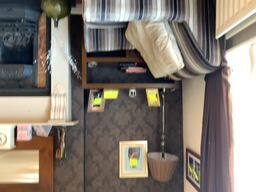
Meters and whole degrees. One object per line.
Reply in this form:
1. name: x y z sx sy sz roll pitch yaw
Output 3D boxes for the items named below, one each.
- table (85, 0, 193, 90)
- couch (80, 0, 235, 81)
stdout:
1. table: 0.100 -0.510 2.110 0.980 0.880 0.350 0 178 -3
2. couch: 0.120 -0.560 1.490 0.840 0.820 0.750 0 178 -9
